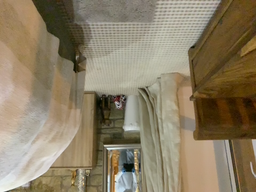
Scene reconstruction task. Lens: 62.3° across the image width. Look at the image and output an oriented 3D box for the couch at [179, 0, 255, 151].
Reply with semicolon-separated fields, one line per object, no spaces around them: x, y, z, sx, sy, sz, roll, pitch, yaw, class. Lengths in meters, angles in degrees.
0.750;-0.130;1.150;0.580;0.760;1.060;-1;162;-3;couch
